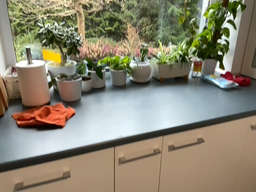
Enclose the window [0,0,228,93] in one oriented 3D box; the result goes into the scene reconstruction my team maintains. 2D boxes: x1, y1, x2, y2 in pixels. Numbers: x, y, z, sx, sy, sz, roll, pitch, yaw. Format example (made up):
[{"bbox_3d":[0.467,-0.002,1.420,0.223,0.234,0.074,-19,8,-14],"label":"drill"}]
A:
[{"bbox_3d":[0.000,-0.850,1.560,1.880,1.460,0.160,-8,24,-23],"label":"window"}]
